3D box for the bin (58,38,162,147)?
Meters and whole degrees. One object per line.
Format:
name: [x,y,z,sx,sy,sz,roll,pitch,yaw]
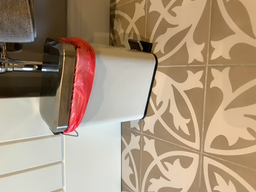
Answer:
bin: [-0.050,-0.020,0.630,0.130,0.260,0.260,17,105,48]
